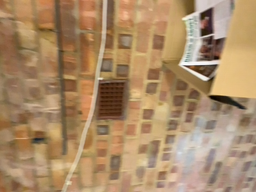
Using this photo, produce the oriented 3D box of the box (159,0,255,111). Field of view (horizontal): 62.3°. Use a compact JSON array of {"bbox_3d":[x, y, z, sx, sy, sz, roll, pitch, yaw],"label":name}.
[{"bbox_3d":[0.260,-0.210,0.710,0.450,0.130,0.340,-114,26,-62],"label":"box"}]
